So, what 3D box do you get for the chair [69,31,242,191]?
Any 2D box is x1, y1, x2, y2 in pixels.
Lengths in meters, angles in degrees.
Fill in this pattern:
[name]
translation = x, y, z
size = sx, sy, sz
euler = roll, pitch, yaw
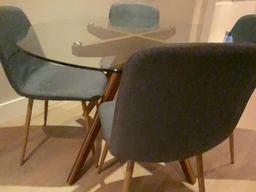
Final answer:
[chair]
translation = 0.020, 0.190, 0.940
size = 0.410, 0.820, 0.520
euler = -8, 30, -22
